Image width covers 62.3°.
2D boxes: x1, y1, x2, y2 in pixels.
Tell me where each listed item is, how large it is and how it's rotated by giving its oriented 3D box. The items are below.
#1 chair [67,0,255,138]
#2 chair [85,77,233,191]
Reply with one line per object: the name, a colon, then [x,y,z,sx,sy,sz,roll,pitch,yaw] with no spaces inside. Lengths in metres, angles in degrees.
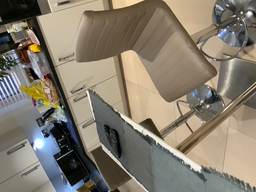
chair: [0.290,-0.290,1.120,0.480,1.050,0.370,57,152,7]
chair: [0.260,0.300,1.700,0.370,1.060,0.490,59,152,2]
